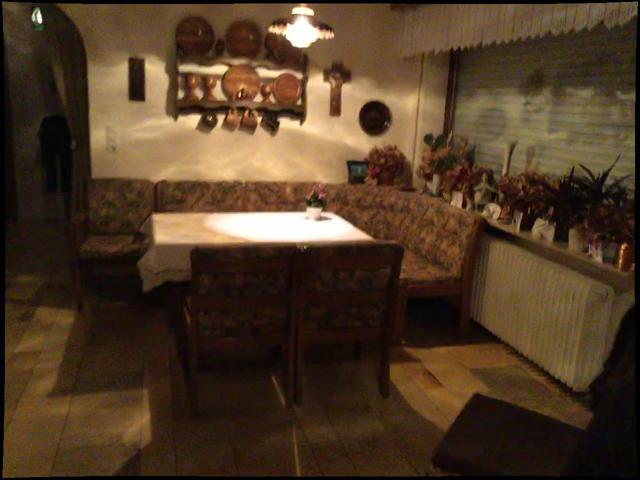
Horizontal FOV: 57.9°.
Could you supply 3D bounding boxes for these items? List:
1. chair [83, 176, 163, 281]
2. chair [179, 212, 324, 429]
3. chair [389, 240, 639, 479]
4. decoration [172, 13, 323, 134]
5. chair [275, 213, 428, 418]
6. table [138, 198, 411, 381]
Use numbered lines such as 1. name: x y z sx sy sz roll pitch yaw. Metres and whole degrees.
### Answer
1. chair: -1.399 -0.110 4.200 0.480 0.611 0.660 -1 15 -14
2. chair: -0.390 0.350 2.940 0.609 0.841 0.750 -1 15 -14
3. chair: 0.659 0.621 1.790 0.660 1.021 0.730 10 16 27
4. decoration: -0.559 -1.261 4.470 1.119 0.821 0.190 -1 16 -15
5. chair: 0.120 0.350 3.090 0.579 0.851 0.710 -1 15 -14
6. table: -0.350 0.220 3.660 1.459 0.771 1.090 -1 15 -14
